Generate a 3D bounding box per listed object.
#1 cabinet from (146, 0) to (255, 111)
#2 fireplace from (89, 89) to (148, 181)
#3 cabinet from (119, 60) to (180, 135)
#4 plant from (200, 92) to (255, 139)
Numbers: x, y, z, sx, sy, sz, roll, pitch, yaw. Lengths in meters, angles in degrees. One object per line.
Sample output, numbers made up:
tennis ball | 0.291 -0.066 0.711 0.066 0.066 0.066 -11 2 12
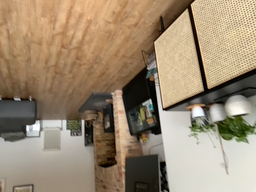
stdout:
cabinet | 0.710 -0.510 1.310 0.450 0.870 1.500 2 162 -24
fireplace | -0.320 0.870 4.380 0.500 1.510 1.760 2 162 -24
cabinet | 0.260 0.080 3.210 0.400 0.860 0.980 2 162 -24
plant | 0.720 0.150 1.510 0.180 0.270 0.310 2 162 -26
